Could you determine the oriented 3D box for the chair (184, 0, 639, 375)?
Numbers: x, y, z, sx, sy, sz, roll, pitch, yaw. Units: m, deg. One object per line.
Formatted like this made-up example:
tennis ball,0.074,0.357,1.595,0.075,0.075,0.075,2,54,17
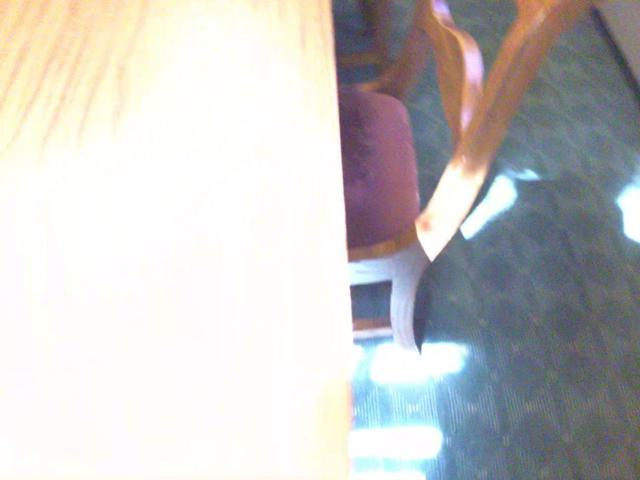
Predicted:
chair,0.100,-0.140,0.960,0.400,0.810,0.450,-1,56,2
